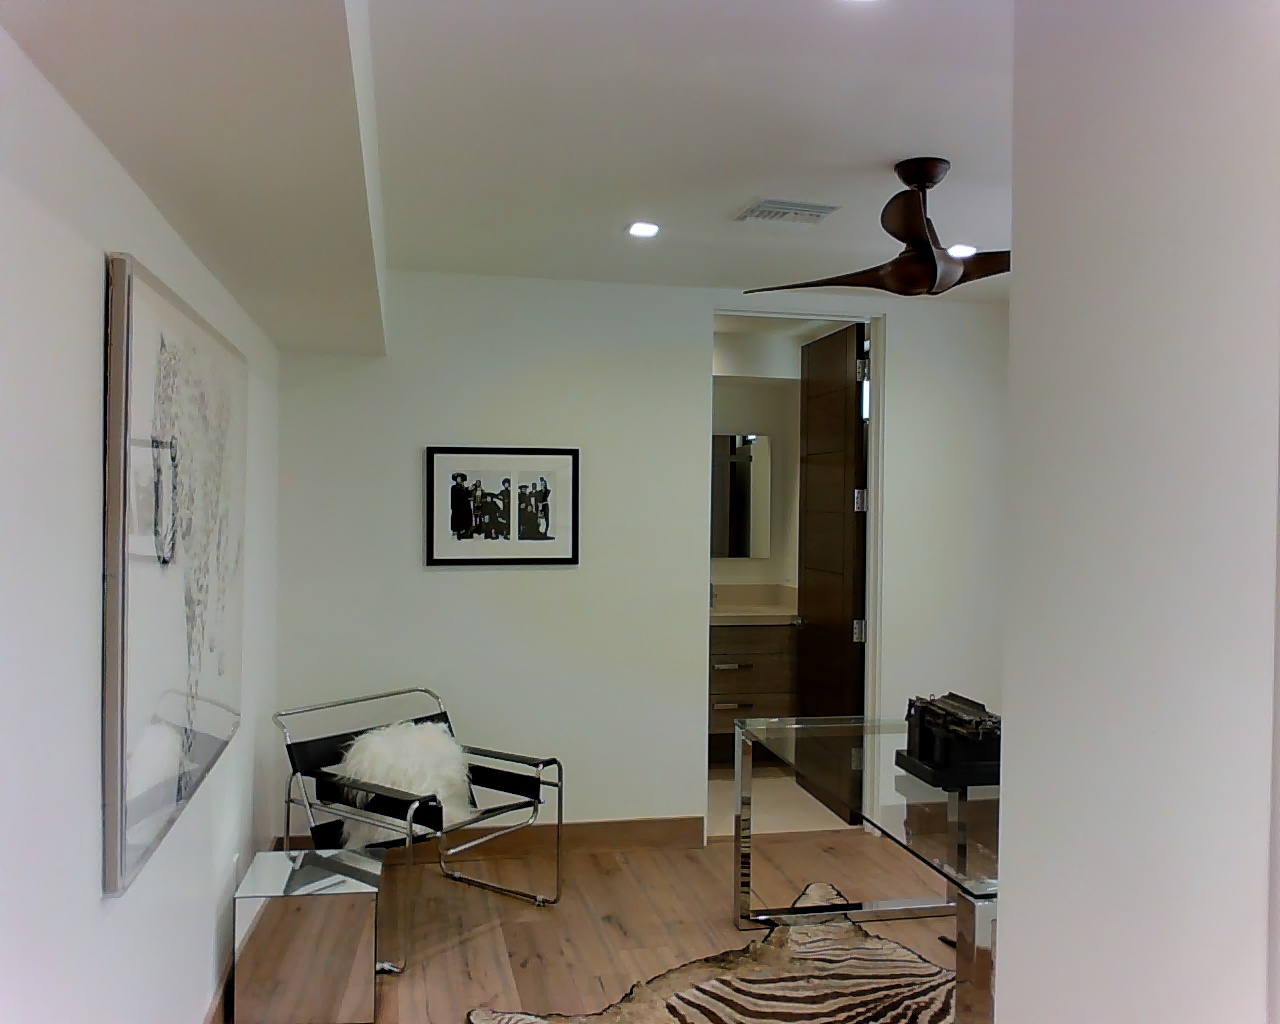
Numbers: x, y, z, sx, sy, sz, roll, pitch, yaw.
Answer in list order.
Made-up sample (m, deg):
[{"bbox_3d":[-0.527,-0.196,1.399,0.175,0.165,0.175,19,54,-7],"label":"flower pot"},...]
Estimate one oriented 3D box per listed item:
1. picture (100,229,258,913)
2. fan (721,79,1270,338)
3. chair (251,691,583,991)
[{"bbox_3d":[-1.050,0.090,2.580,0.050,1.170,1.500,1,1,-12],"label":"picture"},{"bbox_3d":[0.890,-0.780,3.060,1.020,0.350,1.180,1,0,-12],"label":"fan"},{"bbox_3d":[-0.800,1.130,3.970,0.790,0.730,0.890,1,1,35],"label":"chair"}]
